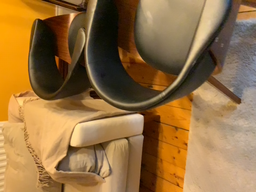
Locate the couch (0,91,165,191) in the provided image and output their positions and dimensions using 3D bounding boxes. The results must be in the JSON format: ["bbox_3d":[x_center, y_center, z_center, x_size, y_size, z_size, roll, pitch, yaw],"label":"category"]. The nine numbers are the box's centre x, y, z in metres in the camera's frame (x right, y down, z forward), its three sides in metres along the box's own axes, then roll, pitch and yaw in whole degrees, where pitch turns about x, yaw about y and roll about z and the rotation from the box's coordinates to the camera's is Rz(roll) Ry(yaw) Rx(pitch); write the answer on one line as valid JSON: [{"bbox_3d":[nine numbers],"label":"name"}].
[{"bbox_3d":[-0.440,0.870,1.580,1.020,0.770,1.700,9,98,42],"label":"couch"}]

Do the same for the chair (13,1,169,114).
[{"bbox_3d":[-0.240,-0.250,1.390,0.630,0.720,0.490,21,106,41],"label":"chair"}]

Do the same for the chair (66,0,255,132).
[{"bbox_3d":[0.220,-0.230,0.960,0.580,0.720,0.490,21,106,41],"label":"chair"}]
